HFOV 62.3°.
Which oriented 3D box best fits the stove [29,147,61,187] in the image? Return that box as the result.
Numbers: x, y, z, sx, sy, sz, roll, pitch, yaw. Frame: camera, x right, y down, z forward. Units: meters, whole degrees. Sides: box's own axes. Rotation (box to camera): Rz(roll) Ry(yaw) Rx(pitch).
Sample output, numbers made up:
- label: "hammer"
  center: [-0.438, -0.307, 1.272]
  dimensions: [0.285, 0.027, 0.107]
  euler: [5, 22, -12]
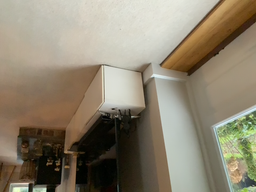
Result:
- label: "stove"
  center: [-1.490, 1.280, 3.810]
  dimensions: [0.440, 0.590, 0.450]
  euler: [8, 150, -23]

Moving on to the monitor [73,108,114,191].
- label: "monitor"
  center: [-0.420, 0.770, 2.290]
  dimensions: [0.050, 0.850, 1.240]
  euler: [8, 150, -24]
